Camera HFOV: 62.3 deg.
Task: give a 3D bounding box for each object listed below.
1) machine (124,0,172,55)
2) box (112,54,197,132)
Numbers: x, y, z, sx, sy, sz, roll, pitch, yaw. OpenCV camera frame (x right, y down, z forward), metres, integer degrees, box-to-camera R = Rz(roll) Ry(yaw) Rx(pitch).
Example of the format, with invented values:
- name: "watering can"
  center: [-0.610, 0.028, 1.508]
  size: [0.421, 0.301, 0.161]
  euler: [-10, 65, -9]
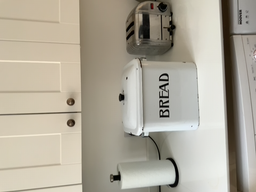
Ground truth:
- name: "machine"
  center: [0.100, -0.380, 1.200]
  size: [0.270, 0.180, 0.230]
  euler: [171, 98, -74]
- name: "box"
  center: [0.100, 0.000, 1.010]
  size: [0.330, 0.290, 0.300]
  euler: [165, 104, -73]
